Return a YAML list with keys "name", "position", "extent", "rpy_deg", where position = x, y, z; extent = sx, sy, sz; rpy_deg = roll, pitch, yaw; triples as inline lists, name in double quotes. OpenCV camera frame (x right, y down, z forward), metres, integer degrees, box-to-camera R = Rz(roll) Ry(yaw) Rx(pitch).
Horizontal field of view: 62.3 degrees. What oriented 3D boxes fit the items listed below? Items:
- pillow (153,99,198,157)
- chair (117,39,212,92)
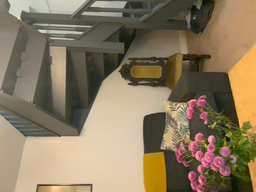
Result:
- name: "pillow"
  position: [0.510, 0.340, 2.320]
  extent: [0.160, 0.310, 0.550]
  rpy_deg: [12, -86, -47]
- name: "chair"
  position: [0.420, -0.370, 2.880]
  extent: [1.120, 0.710, 0.510]
  rpy_deg: [1, -98, -4]
